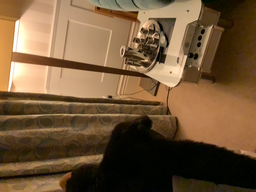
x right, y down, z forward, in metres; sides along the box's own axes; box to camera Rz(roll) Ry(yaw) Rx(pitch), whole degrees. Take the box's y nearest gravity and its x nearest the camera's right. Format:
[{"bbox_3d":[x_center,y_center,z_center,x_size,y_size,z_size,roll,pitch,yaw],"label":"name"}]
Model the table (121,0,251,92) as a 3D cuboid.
[{"bbox_3d":[0.360,-0.440,1.710,0.900,0.400,0.570,33,115,58],"label":"table"}]
